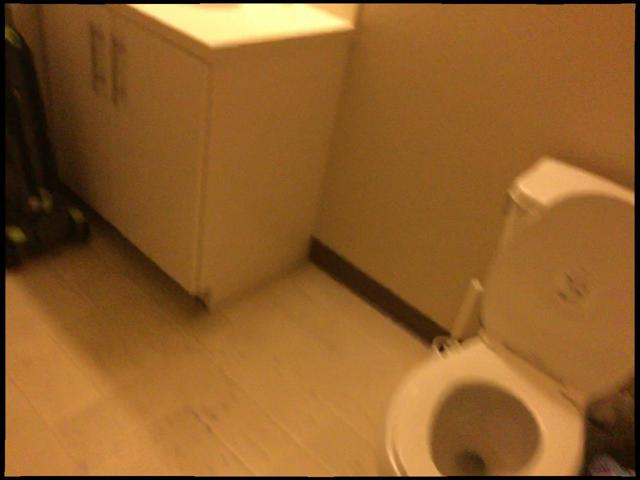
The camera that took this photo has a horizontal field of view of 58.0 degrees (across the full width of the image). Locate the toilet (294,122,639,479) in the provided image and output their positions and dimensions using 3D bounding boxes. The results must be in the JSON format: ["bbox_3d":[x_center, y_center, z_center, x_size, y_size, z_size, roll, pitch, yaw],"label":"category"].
[{"bbox_3d":[0.439,0.311,1.310,0.490,0.871,0.809,35,41,27],"label":"toilet"}]

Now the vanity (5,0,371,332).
[{"bbox_3d":[-0.479,-0.431,1.920,0.890,0.961,0.640,35,41,27],"label":"vanity"}]

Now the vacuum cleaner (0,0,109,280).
[{"bbox_3d":[-0.948,-0.461,1.700,0.370,1.121,0.470,35,41,27],"label":"vacuum cleaner"}]
